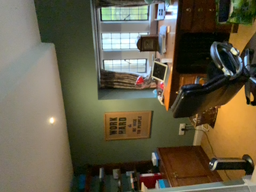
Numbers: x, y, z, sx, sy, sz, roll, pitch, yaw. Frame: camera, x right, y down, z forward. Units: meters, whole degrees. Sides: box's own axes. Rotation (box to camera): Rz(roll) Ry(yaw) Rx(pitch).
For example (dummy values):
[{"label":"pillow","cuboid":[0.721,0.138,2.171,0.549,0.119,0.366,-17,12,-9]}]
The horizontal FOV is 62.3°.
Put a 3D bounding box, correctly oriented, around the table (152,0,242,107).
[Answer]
[{"label":"table","cuboid":[0.940,-0.810,3.290,0.940,0.830,1.680,-104,13,-61]}]
